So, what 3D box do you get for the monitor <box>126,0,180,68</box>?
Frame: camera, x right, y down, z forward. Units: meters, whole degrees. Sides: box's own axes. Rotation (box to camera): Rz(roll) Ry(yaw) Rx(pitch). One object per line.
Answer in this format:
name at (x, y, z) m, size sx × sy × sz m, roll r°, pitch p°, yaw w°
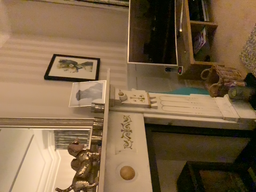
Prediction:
monitor at (0.320, -0.880, 2.680) m, size 0.060 × 0.650 × 1.050 m, roll 116°, pitch 158°, yaw -73°
